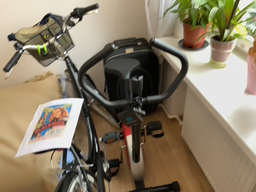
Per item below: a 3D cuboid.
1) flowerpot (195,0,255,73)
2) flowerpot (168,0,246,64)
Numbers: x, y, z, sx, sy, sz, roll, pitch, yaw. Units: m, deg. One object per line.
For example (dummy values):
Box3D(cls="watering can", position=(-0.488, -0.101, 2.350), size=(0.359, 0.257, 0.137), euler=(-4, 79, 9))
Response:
Box3D(cls="flowerpot", position=(0.520, -0.330, 1.120), size=(0.210, 0.330, 0.220), euler=(-7, 37, -5))
Box3D(cls="flowerpot", position=(0.470, -0.470, 1.340), size=(0.310, 0.400, 0.300), euler=(-10, 37, -8))
